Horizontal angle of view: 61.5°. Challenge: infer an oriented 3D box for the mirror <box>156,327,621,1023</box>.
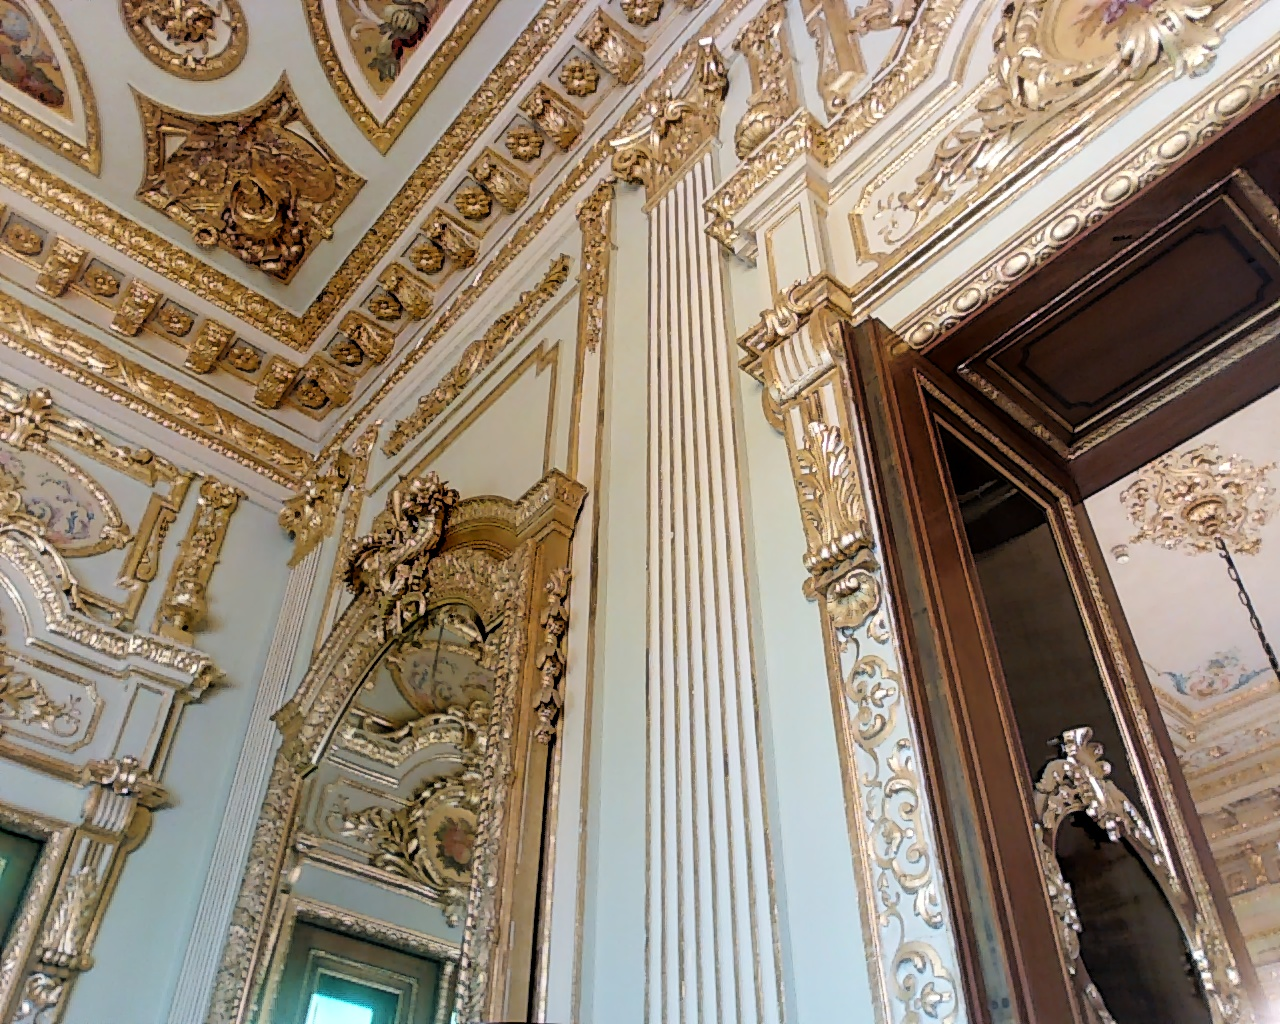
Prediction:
[{"bbox_3d":[-0.779,1.051,2.930,0.260,2.911,1.890,30,-49,-29],"label":"mirror"}]
